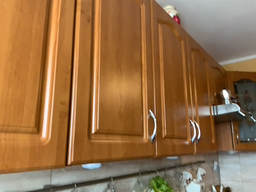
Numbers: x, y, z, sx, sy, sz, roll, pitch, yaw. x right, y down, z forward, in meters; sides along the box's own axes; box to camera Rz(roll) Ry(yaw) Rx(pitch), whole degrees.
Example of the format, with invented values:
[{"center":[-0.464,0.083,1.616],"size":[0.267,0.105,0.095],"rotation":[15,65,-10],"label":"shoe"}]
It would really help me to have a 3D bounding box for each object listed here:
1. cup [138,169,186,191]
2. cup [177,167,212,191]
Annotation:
[{"center":[0.210,0.560,1.270],"size":[0.150,0.200,0.290],"rotation":[-11,-16,39],"label":"cup"},{"center":[0.540,0.700,1.690],"size":[0.120,0.210,0.420],"rotation":[-10,-16,36],"label":"cup"}]
